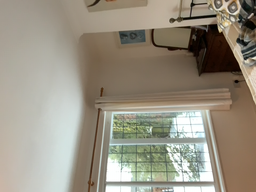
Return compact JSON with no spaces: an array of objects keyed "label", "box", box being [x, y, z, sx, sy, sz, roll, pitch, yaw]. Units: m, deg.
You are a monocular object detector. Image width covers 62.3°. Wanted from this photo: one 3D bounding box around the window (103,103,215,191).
[{"label":"window","box":[0.370,1.000,2.740,0.100,1.350,1.970,78,-169,-58]}]
